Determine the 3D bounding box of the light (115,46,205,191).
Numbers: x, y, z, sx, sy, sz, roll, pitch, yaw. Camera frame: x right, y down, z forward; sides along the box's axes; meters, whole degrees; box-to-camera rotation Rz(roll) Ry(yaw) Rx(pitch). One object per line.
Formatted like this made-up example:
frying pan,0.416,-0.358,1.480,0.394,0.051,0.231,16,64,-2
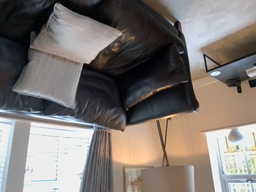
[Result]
light,0.330,0.360,2.670,0.820,1.650,0.590,-19,154,41

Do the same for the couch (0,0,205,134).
couch,-0.480,-0.350,1.490,1.070,0.890,1.960,-19,154,41
